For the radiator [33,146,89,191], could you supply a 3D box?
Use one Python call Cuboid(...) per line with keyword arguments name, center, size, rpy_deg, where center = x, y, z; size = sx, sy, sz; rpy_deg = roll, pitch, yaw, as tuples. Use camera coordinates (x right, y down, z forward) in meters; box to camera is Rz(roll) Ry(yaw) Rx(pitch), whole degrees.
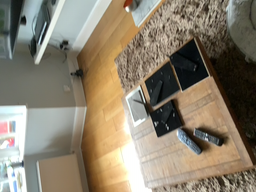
Cuboid(name="radiator", center=(-0.870, 1.200, 2.840), size=(0.160, 0.620, 0.940), rpy_deg=(-38, 61, 47))
